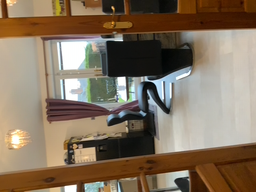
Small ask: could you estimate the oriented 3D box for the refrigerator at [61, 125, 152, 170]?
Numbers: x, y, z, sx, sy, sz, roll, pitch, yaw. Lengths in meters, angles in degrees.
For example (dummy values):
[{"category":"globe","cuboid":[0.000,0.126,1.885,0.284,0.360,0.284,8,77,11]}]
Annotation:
[{"category":"refrigerator","cuboid":[-0.460,1.090,4.700,0.690,1.840,0.590,-148,55,-79]}]
